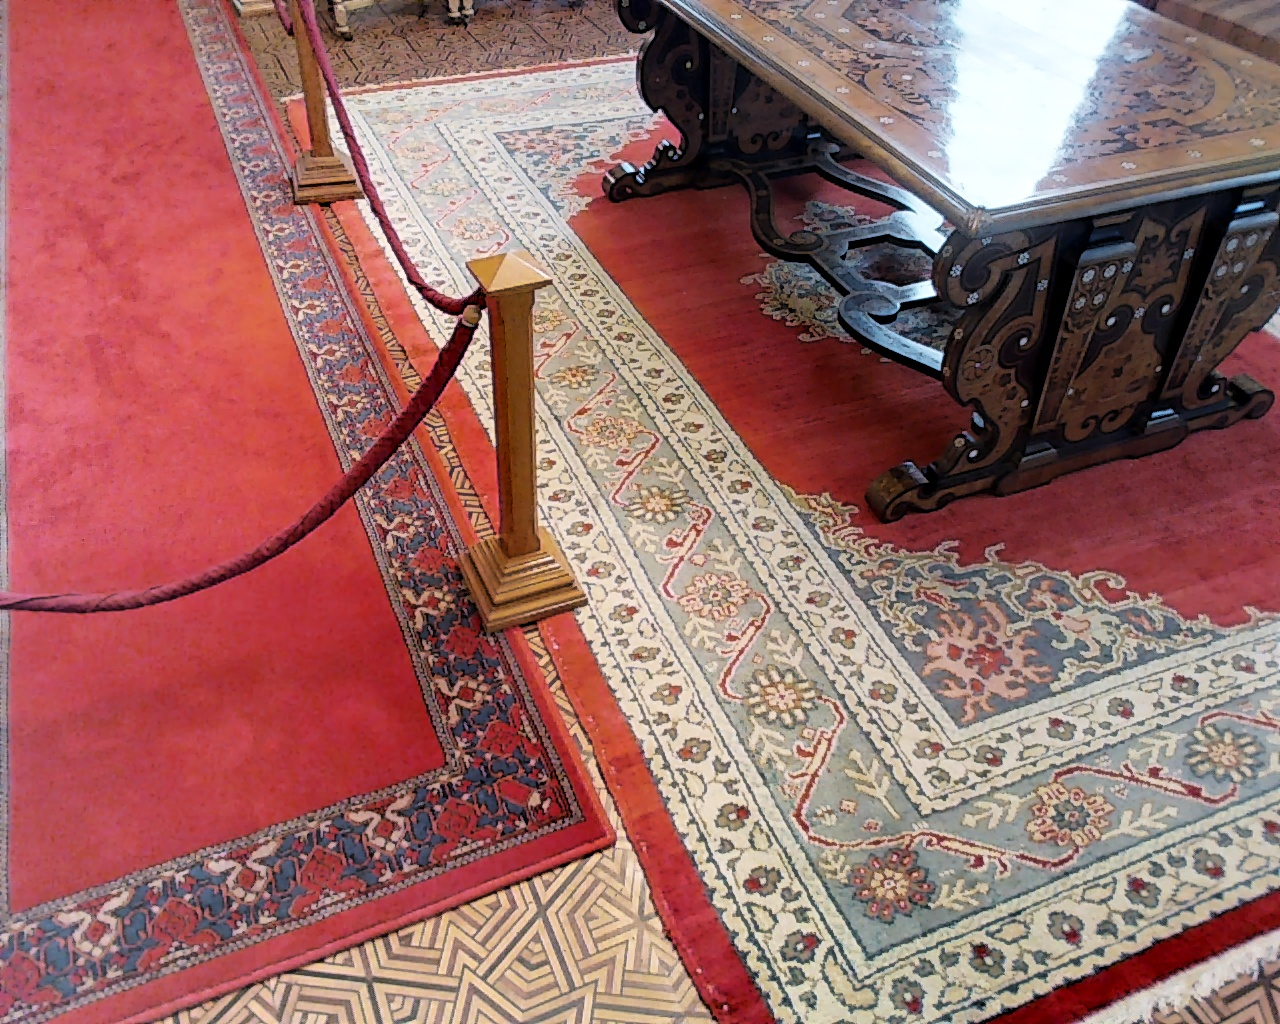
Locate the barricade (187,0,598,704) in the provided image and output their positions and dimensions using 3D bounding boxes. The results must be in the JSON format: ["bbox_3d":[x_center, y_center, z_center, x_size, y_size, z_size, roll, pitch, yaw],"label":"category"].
[{"bbox_3d":[-0.820,-0.870,2.860,0.480,0.830,2.800,-14,45,-16],"label":"barricade"}]
